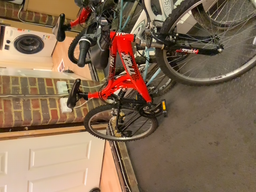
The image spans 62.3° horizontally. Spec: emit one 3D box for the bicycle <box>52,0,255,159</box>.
[{"bbox_3d":[0.120,-0.110,1.410,1.750,0.740,0.420,-45,55,45],"label":"bicycle"}]
